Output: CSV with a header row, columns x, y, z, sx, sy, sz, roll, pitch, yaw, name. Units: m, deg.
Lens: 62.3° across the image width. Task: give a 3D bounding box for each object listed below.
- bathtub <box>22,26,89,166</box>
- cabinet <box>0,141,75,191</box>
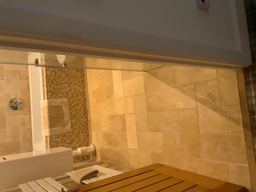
x,y,z,sx,sy,sz,roll,pitch,yaw,name
-1.230,0.020,3.490,0.910,0.640,1.950,-11,84,53,bathtub
-1.330,0.780,2.240,0.430,1.410,0.340,-9,85,53,cabinet
